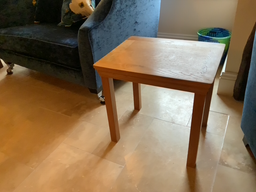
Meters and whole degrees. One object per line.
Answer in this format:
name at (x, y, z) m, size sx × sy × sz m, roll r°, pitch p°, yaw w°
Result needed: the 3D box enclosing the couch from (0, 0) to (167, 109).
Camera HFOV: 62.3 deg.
couch at (-0.520, -0.740, 1.860) m, size 1.360 × 0.900 × 1.120 m, roll 17°, pitch 40°, yaw 29°
